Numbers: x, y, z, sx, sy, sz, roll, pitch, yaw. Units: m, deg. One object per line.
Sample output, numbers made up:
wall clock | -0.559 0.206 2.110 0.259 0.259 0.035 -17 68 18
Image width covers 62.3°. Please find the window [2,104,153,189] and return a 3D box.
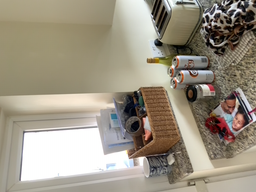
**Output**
window | -0.260 0.260 1.190 0.140 0.730 0.370 117 147 -60

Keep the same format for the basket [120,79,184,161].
basket | 0.100 0.130 1.100 0.280 0.190 0.330 117 147 -60
